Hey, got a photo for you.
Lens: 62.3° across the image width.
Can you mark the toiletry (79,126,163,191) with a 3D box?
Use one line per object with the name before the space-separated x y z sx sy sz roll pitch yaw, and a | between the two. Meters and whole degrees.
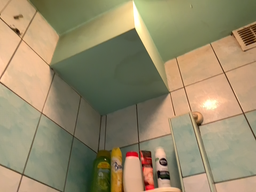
toiletry | -0.030 0.330 0.950 0.320 0.280 0.150 -17 -44 16
